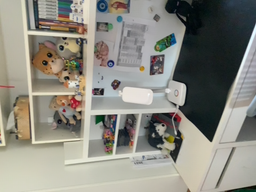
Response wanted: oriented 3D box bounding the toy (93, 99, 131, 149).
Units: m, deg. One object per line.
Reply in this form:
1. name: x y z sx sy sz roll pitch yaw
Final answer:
1. toy: -0.110 0.170 1.330 0.170 0.180 0.250 -122 35 -58

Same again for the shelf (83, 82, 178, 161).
1. shelf: -0.020 0.140 1.400 0.370 0.500 0.350 -122 36 -59

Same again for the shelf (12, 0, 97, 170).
1. shelf: -0.370 -0.160 1.120 0.390 0.310 1.040 -122 36 -59

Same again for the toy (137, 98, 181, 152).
1. toy: 0.190 0.180 1.380 0.260 0.150 0.240 -123 37 -59
